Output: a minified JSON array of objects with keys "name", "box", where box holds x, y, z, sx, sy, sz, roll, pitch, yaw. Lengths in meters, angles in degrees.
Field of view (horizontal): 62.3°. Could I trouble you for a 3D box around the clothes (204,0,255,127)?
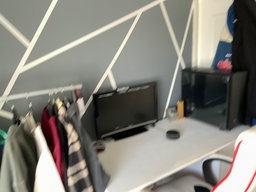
[{"name":"clothes","box":[0.900,-0.300,1.590,0.290,0.980,0.520,-18,21,-40]}]
